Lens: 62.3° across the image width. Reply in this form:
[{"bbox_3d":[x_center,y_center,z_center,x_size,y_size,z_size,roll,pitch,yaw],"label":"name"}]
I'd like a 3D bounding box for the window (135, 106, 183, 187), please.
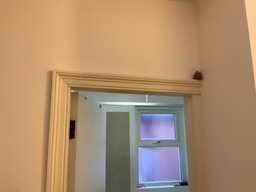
[{"bbox_3d":[0.470,0.760,3.310,0.700,1.180,0.130,2,-11,-12],"label":"window"}]
